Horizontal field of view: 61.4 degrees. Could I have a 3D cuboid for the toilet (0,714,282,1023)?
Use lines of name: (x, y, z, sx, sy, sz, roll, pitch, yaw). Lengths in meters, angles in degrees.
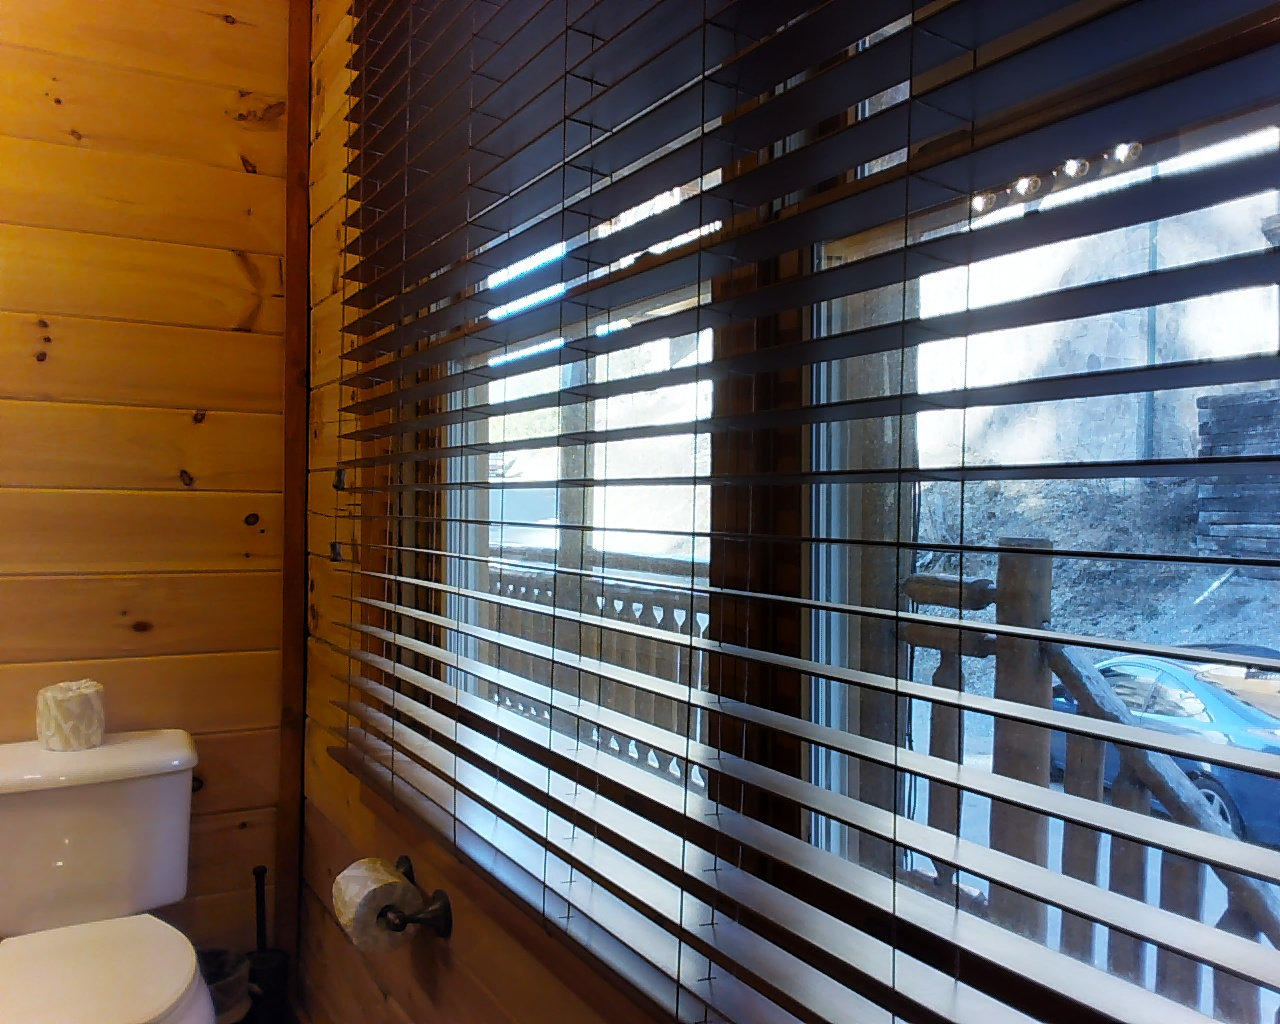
toilet: (-0.970, 0.790, 1.860, 0.520, 0.710, 0.760, 1, 0, -30)
